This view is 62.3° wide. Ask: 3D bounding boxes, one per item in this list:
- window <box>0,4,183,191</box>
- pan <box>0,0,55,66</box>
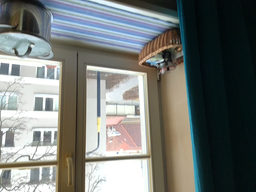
[{"bbox_3d":[-0.280,0.550,0.960,1.190,1.870,0.190,4,166,-25],"label":"window"},{"bbox_3d":[-0.490,-0.290,0.910,0.300,0.180,0.350,4,166,-23],"label":"pan"}]
